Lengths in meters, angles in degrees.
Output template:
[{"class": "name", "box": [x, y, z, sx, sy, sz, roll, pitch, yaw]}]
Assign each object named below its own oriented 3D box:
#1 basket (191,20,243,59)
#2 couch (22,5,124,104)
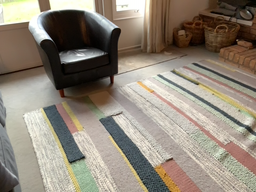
[{"class": "basket", "box": [1.330, -0.870, 3.220, 0.440, 0.390, 0.500, -16, 35, -23]}, {"class": "couch", "box": [-0.580, -0.510, 2.310, 0.780, 0.720, 0.770, -18, 36, -26]}]
